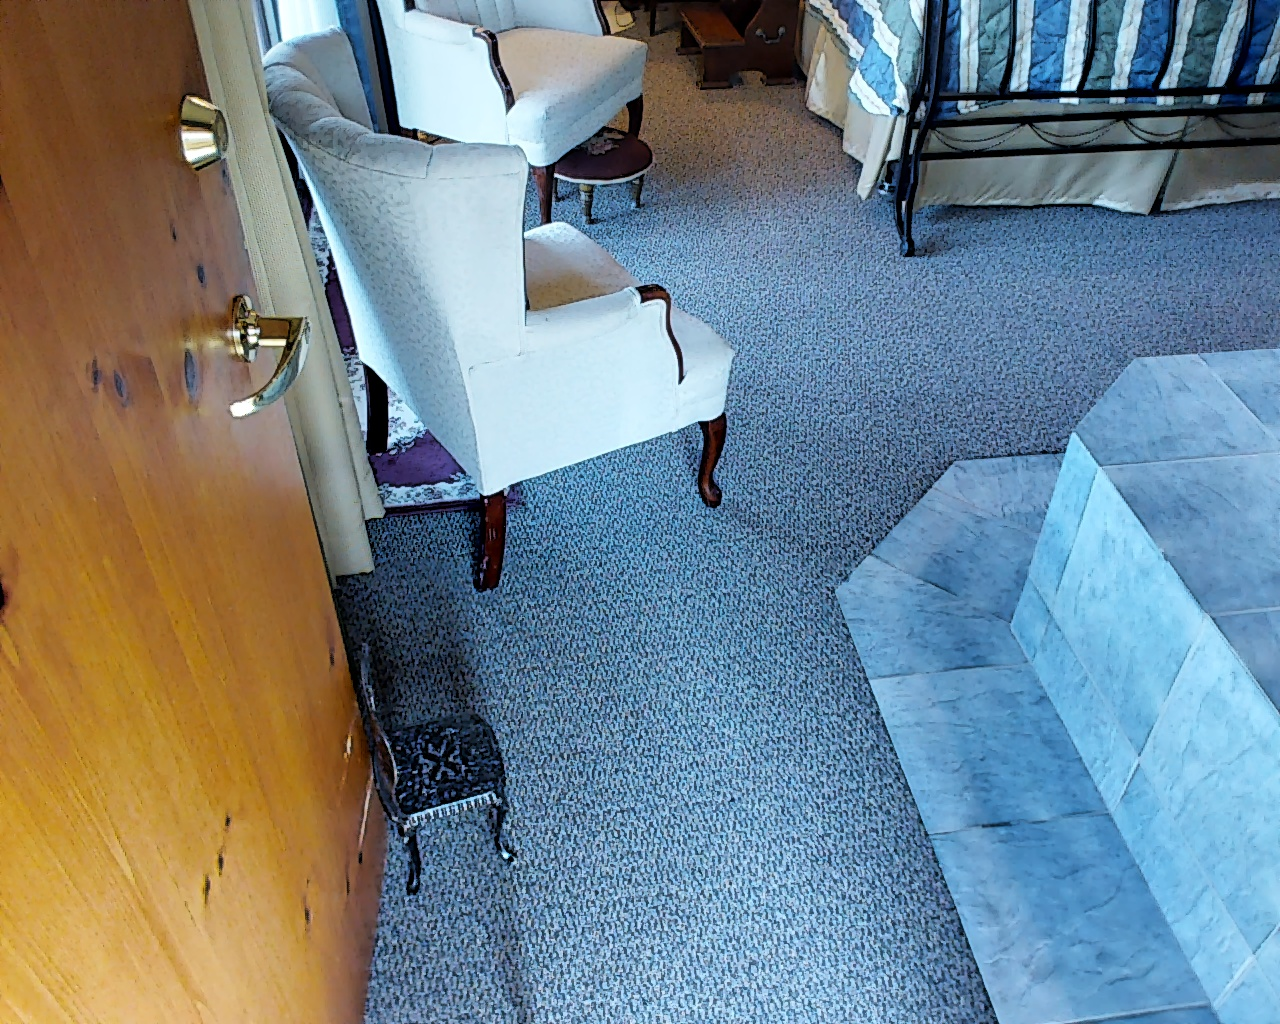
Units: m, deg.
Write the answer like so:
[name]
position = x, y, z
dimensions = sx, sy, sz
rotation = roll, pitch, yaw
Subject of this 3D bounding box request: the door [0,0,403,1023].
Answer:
[door]
position = -0.380, 0.020, 0.750
dimensions = 0.040, 2.100, 0.960
rotation = -2, 41, -3
